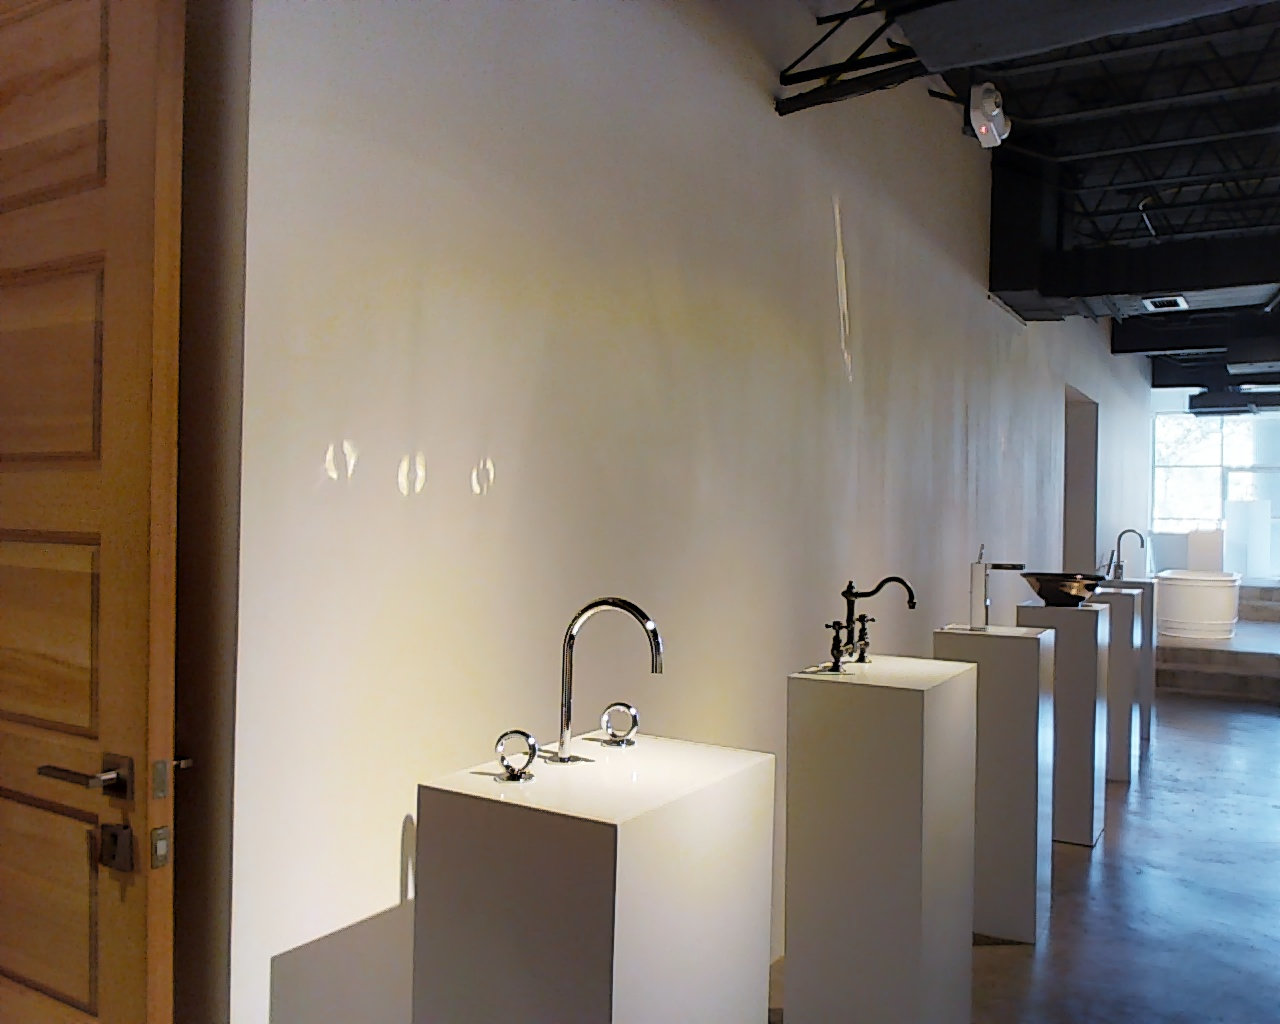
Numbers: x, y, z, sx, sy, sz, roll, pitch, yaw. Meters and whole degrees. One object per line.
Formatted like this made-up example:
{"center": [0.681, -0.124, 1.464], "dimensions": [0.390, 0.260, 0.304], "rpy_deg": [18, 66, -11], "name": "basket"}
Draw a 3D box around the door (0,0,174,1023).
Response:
{"center": [-1.060, 0.210, 1.810], "dimensions": [0.800, 2.490, 0.030], "rpy_deg": [1, 0, 33], "name": "door"}
